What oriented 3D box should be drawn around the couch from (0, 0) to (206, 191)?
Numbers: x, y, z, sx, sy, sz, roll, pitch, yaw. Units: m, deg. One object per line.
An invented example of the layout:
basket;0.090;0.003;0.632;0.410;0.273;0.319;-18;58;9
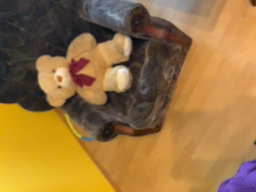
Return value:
couch;-0.280;-0.190;1.320;0.850;1.000;0.850;32;112;40
